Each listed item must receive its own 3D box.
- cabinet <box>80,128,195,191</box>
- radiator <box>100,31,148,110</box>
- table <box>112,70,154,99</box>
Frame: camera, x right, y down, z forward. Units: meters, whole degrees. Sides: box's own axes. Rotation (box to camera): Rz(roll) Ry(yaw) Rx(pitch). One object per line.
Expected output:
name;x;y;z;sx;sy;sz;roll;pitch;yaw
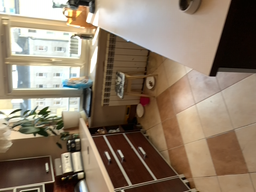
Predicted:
cabinet;0.000;1.030;2.500;1.080;0.860;0.780;-136;49;-56
radiator;-0.070;-0.330;2.940;0.170;0.520;1.040;-141;53;-58
table;0.060;-0.160;2.800;0.250;0.450;0.300;-137;50;-56
